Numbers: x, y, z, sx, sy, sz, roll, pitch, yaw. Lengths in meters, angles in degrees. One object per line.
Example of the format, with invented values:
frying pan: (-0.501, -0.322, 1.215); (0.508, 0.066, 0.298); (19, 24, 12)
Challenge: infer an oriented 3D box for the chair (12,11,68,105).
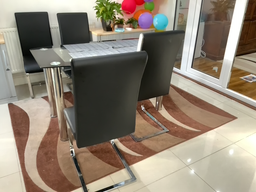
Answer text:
chair: (-1.150, -0.530, 2.800); (0.420, 1.040, 0.660); (-14, 30, -27)

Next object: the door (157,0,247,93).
door: (1.000, -1.360, 3.060); (0.070, 2.300, 1.440); (-15, 31, -29)

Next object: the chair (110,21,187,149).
chair: (0.140, -0.130, 2.060); (0.420, 1.050, 0.560); (-13, 30, -26)

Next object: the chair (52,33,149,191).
chair: (-0.210, 0.150, 1.520); (0.400, 1.040, 0.590); (-12, 30, -25)

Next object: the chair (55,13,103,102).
chair: (-0.660, -0.550, 2.900); (0.420, 1.010, 0.660); (-11, 29, -22)
